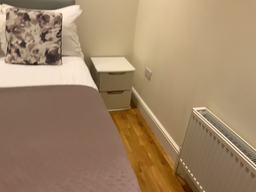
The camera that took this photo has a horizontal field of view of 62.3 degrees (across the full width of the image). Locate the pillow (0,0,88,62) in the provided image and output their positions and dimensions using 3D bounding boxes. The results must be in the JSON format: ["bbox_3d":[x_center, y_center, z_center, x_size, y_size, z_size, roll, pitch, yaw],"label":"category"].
[{"bbox_3d":[-0.750,-0.560,1.790,0.710,0.350,0.590,-4,30,-20],"label":"pillow"}]

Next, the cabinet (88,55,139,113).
[{"bbox_3d":[-0.190,-0.160,2.450,0.440,0.510,0.450,-4,30,-20],"label":"cabinet"}]
